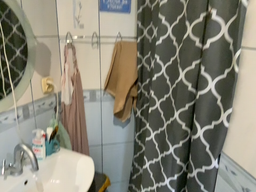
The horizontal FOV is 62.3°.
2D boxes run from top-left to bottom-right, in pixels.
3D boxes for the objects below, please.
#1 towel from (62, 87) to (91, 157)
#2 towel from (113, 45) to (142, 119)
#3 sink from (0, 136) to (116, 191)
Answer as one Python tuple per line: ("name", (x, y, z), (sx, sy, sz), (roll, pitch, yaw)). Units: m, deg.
("towel", (-0.350, 0.180, 1.450), (0.150, 0.460, 0.110), (-7, 22, -22))
("towel", (-0.010, -0.090, 1.410), (0.170, 0.470, 0.120), (-1, 18, -7))
("sink", (-0.410, 0.510, 1.080), (0.430, 0.250, 0.670), (10, 19, 24))
